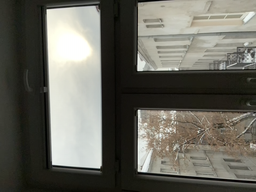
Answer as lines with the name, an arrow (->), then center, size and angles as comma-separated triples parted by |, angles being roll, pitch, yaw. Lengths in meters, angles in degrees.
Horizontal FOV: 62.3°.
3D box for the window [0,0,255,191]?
window -> 0.210, -0.050, 1.060 | 0.170, 1.790, 1.190 | -35, -55, -77
